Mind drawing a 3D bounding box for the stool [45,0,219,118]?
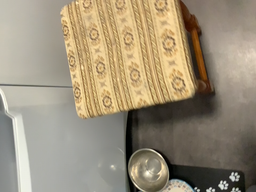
[{"bbox_3d":[0.060,-0.130,0.670,0.330,0.460,0.300,-13,85,27],"label":"stool"}]
